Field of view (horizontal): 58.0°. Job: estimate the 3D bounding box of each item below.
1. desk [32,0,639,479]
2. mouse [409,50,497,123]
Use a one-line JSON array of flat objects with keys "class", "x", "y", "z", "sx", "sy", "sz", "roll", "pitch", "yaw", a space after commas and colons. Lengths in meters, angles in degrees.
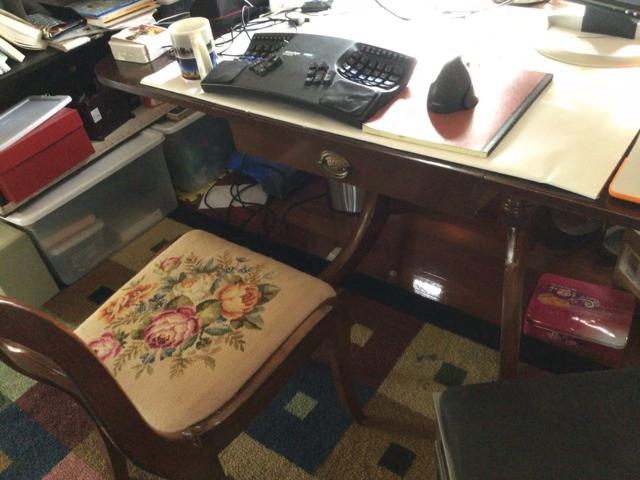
[{"class": "desk", "x": 0.320, "y": -0.250, "z": 1.500, "sx": 1.670, "sy": 0.970, "sz": 1.060, "roll": 22, "pitch": 42, "yaw": 29}, {"class": "mouse", "x": 0.230, "y": -0.270, "z": 1.010, "sx": 0.110, "sy": 0.080, "sz": 0.090, "roll": -21, "pitch": 40, "yaw": -26}]
